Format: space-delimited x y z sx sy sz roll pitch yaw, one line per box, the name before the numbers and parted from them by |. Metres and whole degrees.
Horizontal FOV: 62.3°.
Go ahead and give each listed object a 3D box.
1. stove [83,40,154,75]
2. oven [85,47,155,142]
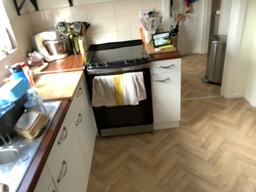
stove | -0.100 -0.420 2.210 0.640 0.090 0.640 -5 30 0
oven | -0.060 -0.030 2.440 0.640 0.830 0.620 -5 30 0
